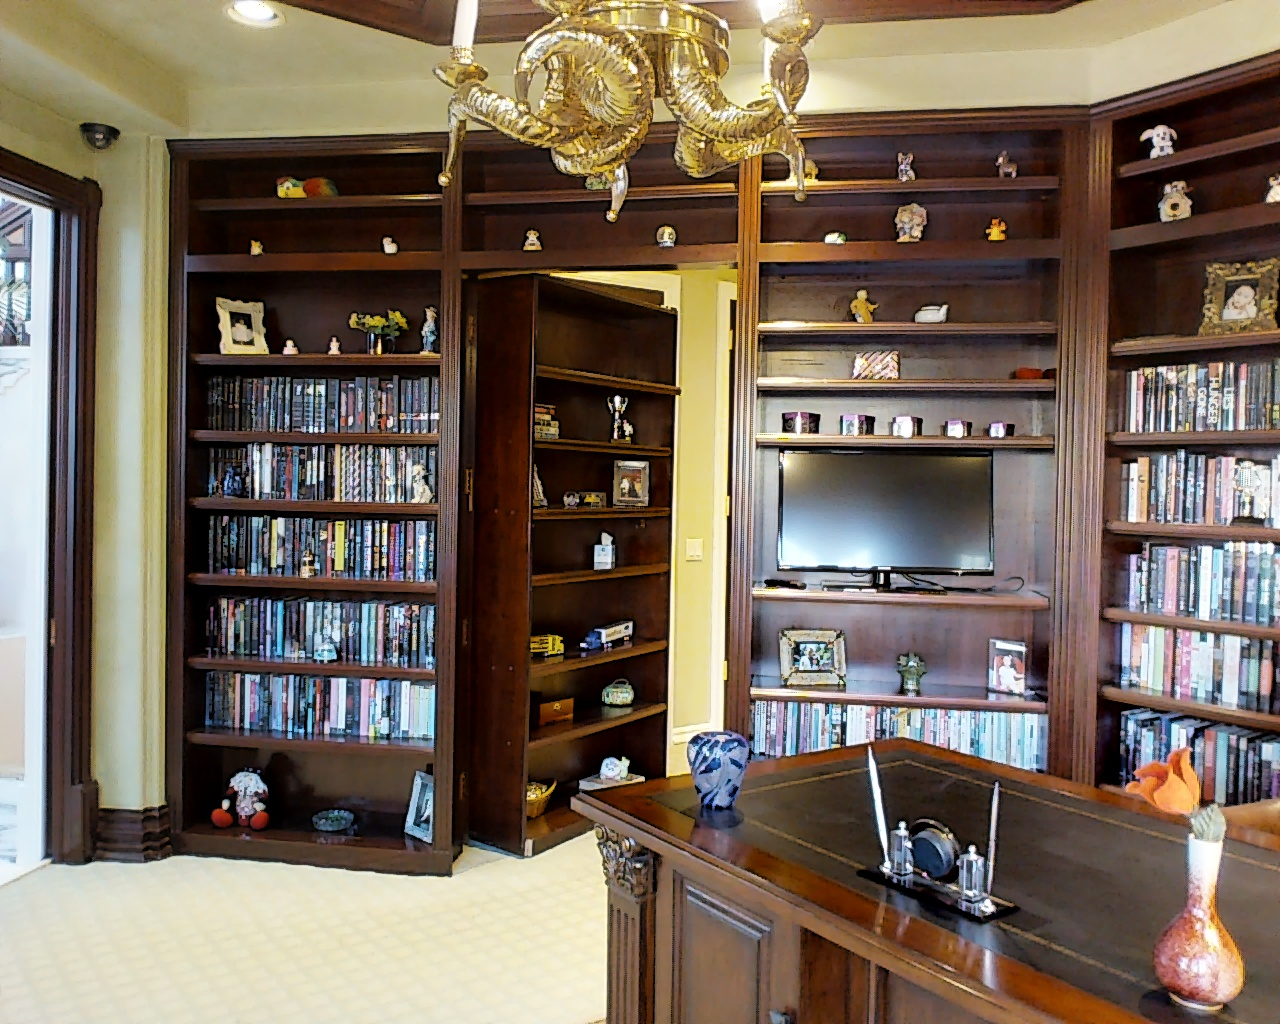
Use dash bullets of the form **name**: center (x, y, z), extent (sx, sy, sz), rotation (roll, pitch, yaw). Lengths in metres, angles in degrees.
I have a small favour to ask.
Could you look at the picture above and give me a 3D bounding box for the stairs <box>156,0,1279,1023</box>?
- **stairs**: center (1.300, 0.010, 2.620), extent (3.660, 2.620, 4.350), rotation (0, 1, -37)
